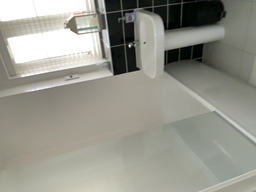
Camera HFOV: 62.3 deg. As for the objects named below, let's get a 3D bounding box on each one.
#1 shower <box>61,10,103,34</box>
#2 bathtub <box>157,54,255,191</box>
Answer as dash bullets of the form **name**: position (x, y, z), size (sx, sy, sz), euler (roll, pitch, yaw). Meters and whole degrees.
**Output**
- **shower**: position (-0.430, -0.700, 1.990), size (0.180, 0.340, 0.160), euler (-128, 28, -58)
- **bathtub**: position (0.850, 0.260, 1.790), size (1.670, 0.530, 0.700), euler (-126, 27, -56)
